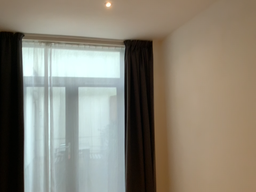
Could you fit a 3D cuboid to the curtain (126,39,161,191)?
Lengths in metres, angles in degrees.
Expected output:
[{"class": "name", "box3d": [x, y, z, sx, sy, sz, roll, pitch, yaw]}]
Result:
[{"class": "curtain", "box3d": [0.200, 0.490, 2.760, 0.390, 2.430, 0.140, -1, -2, -15]}]
